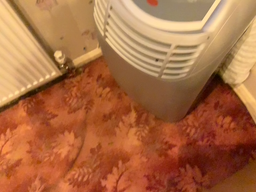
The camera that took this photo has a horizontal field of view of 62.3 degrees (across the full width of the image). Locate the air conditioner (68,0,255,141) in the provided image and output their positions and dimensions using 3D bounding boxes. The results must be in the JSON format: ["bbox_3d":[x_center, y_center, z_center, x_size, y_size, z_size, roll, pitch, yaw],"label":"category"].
[{"bbox_3d":[0.150,-0.220,0.850,0.480,0.800,0.480,-37,72,-10],"label":"air conditioner"}]
